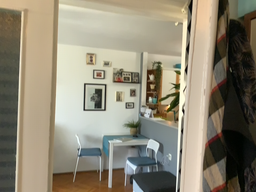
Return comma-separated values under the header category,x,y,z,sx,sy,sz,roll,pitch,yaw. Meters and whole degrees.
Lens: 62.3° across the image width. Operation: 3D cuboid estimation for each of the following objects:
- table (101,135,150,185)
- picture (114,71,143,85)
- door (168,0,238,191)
category,x,y,z,sx,sy,sz,roll,pitch,yaw
table,-0.060,1.190,4.090,0.790,0.750,0.530,2,1,-17
picture,0.010,-0.370,4.370,0.610,0.250,0.040,2,1,-17
door,0.230,0.510,0.840,0.110,2.020,0.890,2,1,14
